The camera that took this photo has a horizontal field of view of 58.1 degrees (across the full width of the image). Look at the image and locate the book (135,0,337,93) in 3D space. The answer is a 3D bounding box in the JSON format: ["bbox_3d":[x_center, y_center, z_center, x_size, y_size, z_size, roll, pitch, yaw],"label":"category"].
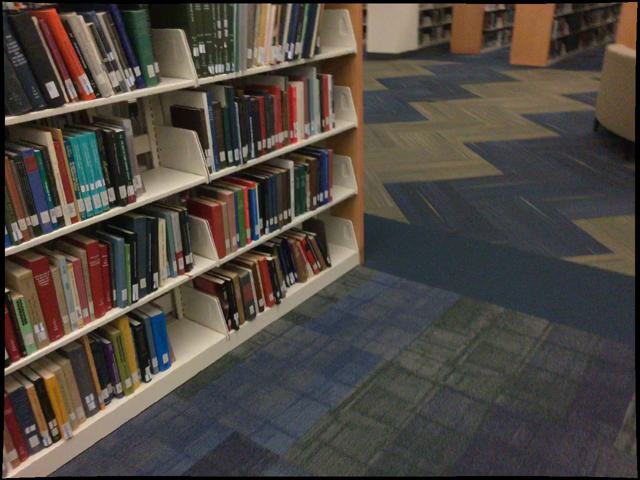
[{"bbox_3d":[-0.269,-0.802,2.150,0.250,0.331,0.780,16,31,34],"label":"book"}]

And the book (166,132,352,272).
[{"bbox_3d":[-0.209,-0.201,2.470,0.220,0.281,0.909,16,31,34],"label":"book"}]

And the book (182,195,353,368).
[{"bbox_3d":[-0.180,0.140,2.550,0.190,0.391,0.880,16,31,34],"label":"book"}]

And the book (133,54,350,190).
[{"bbox_3d":[-0.259,-0.521,2.350,0.280,0.311,0.939,16,31,34],"label":"book"}]
